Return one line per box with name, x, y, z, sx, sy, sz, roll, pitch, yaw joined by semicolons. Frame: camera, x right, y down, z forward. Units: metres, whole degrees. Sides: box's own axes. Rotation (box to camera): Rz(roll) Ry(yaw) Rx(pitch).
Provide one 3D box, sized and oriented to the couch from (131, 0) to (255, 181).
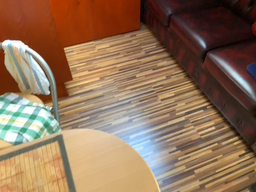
couch;0.800;-0.530;1.630;0.830;0.750;2.020;-17;53;-14
